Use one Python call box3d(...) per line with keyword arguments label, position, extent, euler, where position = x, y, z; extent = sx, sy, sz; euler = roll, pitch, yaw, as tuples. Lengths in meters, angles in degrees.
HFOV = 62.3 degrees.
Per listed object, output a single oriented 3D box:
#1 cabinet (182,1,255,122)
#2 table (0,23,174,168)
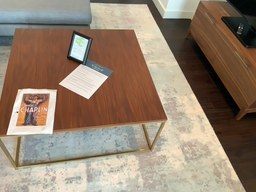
box3d(label="cabinet", position=(1.020, -0.400, 2.070), extent=(0.410, 0.450, 1.200), euler=(-5, 52, -15))
box3d(label="table", position=(-0.310, -0.070, 1.530), extent=(0.940, 0.410, 0.930), euler=(-3, 51, -13))
